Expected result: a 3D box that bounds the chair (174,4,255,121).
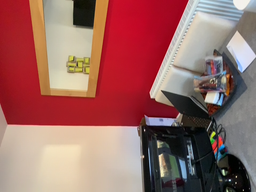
[{"bbox_3d":[0.860,-0.170,1.310,0.400,0.960,0.510,109,160,-47],"label":"chair"}]
